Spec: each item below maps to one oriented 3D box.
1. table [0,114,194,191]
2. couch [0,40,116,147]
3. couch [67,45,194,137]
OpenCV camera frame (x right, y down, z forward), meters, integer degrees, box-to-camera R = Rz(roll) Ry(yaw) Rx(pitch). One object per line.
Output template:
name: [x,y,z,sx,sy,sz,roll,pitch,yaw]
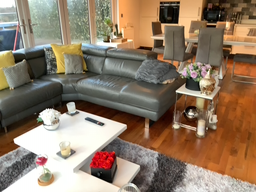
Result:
table: [-0.320,0.640,1.490,1.190,0.280,1.280,12,26,28]
couch: [-1.460,-0.110,2.710,1.050,0.750,3.060,13,26,29]
couch: [0.060,-0.200,2.900,1.320,0.750,1.030,13,26,29]
